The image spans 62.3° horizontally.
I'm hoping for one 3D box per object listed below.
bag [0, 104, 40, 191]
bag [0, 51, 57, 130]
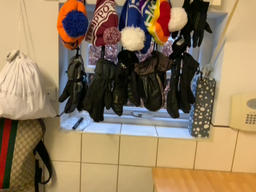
[{"bbox_3d":[-0.630,0.260,0.970,0.390,0.430,0.150,3,10,-2],"label":"bag"},{"bbox_3d":[-0.490,-0.040,0.930,0.290,0.300,0.230,3,10,-4],"label":"bag"}]
